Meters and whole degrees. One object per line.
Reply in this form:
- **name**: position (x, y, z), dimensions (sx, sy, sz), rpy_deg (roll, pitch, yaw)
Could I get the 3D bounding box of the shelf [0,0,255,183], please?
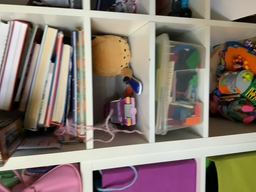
- **shelf**: position (-0.140, -0.200, 0.670), dimensions (0.370, 1.410, 0.740), rpy_deg (-166, 74, -73)
